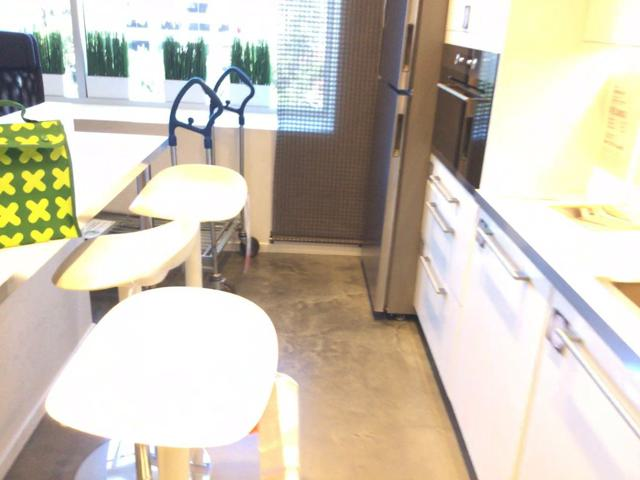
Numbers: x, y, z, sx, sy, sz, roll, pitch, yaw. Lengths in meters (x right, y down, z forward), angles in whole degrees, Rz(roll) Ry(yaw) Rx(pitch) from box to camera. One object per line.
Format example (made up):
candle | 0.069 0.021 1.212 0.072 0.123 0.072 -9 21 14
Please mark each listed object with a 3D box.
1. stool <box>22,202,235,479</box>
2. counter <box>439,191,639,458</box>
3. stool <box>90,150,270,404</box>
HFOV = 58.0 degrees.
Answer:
stool | -0.500 0.370 1.720 0.450 0.870 0.480 -1 18 -6
counter | 0.830 0.230 0.910 0.710 0.170 1.980 -1 18 -6
stool | -0.470 0.120 2.170 0.530 0.830 0.470 1 18 -2
